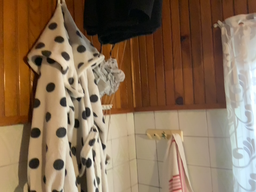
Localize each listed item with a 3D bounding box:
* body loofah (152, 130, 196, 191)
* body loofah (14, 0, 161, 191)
[{"bbox_3d":[0.250,0.480,1.120,0.180,0.580,0.100,-5,-2,35],"label":"body loofah"},{"bbox_3d":[-0.110,0.300,0.920,0.240,1.450,0.580,-5,-2,35],"label":"body loofah"}]
